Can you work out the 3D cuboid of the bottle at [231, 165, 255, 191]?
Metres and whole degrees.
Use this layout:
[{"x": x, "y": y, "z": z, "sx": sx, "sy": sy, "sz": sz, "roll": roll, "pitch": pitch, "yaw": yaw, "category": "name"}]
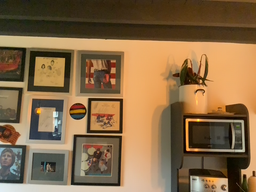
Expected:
[{"x": 1.150, "y": 0.870, "z": 2.100, "sx": 0.140, "sy": 0.320, "sz": 0.170, "roll": 3, "pitch": -7, "yaw": -17, "category": "bottle"}]
